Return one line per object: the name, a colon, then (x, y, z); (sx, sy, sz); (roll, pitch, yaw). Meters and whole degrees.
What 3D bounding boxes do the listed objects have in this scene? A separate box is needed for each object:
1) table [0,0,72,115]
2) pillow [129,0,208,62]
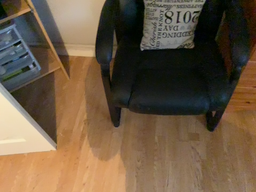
table: (-0.840, -0.360, 1.330); (0.620, 0.710, 0.470); (-37, 61, -19)
pillow: (0.200, -0.340, 1.040); (0.280, 0.260, 0.130); (-17, 49, 35)
